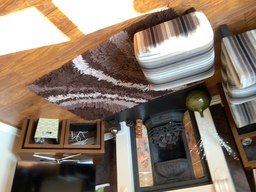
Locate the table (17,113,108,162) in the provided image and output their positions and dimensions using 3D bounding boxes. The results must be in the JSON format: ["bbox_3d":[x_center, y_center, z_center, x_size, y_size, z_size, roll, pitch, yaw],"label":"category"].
[{"bbox_3d":[-0.820,0.580,2.820,1.030,0.440,0.520,5,146,-13],"label":"table"}]

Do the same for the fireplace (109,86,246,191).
[{"bbox_3d":[0.450,0.690,2.420,1.330,1.200,0.390,-20,144,23],"label":"fireplace"}]

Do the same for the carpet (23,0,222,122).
[{"bbox_3d":[-0.060,-0.200,2.160,1.740,0.130,0.980,-21,143,25],"label":"carpet"}]
